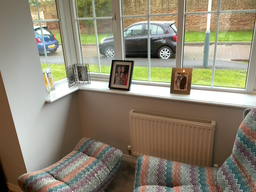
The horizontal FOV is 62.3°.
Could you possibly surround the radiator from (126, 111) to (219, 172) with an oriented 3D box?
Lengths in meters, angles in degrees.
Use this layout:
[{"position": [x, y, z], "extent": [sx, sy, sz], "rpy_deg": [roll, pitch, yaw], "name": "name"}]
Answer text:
[{"position": [0.350, 0.380, 1.820], "extent": [0.750, 0.410, 0.060], "rpy_deg": [7, 23, 22], "name": "radiator"}]
